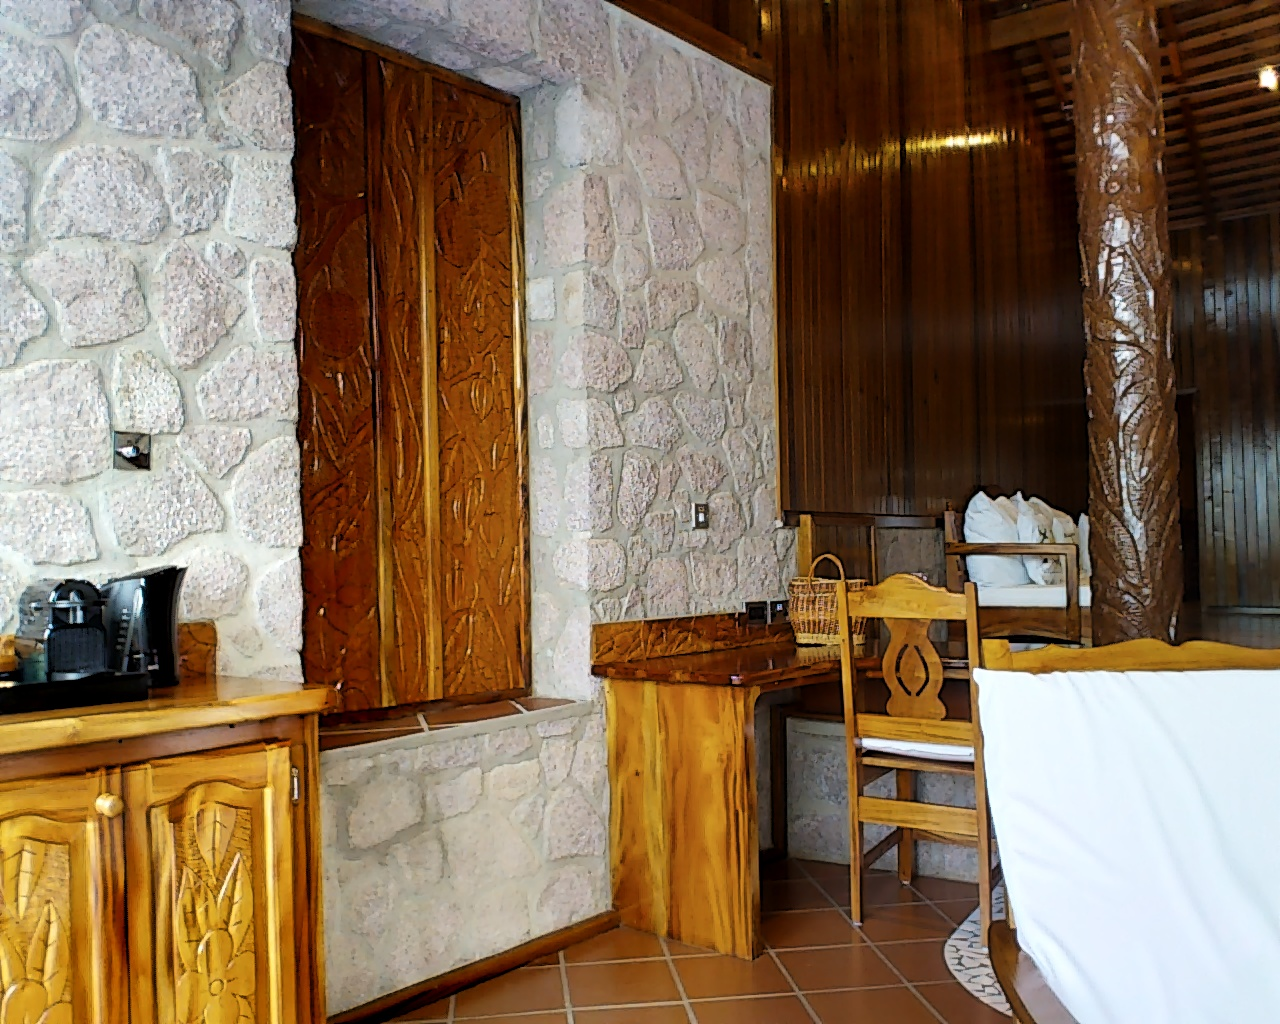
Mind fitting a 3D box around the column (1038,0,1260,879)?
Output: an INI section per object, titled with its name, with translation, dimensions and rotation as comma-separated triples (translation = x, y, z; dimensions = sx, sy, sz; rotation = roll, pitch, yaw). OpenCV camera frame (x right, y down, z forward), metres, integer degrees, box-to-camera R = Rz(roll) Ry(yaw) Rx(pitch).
[column]
translation = 1.640, -1.030, 3.550
dimensions = 0.410, 4.280, 0.430
rotation = 0, -2, -13
